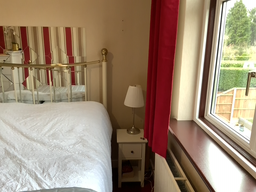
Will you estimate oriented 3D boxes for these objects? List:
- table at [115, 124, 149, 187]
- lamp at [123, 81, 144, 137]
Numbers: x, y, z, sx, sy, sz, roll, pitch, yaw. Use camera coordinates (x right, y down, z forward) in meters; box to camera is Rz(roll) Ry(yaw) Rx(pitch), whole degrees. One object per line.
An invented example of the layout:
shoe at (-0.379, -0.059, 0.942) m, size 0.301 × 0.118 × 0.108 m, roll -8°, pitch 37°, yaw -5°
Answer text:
table at (0.030, 0.660, 2.440) m, size 0.330 × 0.540 × 0.440 m, roll 0°, pitch 14°, yaw -5°
lamp at (0.050, 0.130, 2.350) m, size 0.180 × 0.560 × 0.280 m, roll 0°, pitch 14°, yaw -7°
